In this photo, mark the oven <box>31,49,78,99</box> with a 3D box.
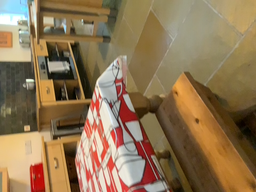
[{"bbox_3d":[-1.370,-0.400,3.900,0.560,0.690,0.690,67,148,33],"label":"oven"}]
